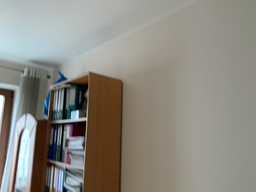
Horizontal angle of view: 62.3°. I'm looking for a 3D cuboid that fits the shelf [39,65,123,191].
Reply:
[{"bbox_3d":[-0.430,0.380,1.900,0.340,1.110,0.740,11,-15,-44],"label":"shelf"}]
